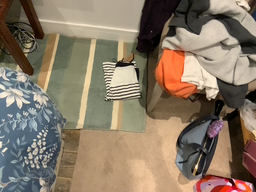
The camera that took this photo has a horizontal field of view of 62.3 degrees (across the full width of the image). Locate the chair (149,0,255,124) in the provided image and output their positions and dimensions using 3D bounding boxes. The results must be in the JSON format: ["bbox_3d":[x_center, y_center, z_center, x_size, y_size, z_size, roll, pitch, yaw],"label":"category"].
[{"bbox_3d":[0.440,-0.310,1.090,0.490,0.940,0.580,7,63,-1],"label":"chair"}]
